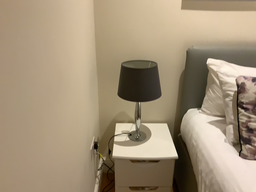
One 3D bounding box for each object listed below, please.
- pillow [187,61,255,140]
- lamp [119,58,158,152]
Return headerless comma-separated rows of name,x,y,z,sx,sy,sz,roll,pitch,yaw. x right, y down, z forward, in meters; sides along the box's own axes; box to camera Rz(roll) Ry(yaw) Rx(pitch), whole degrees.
pillow,0.790,0.000,1.270,0.720,0.300,0.500,1,22,0
lamp,0.050,0.050,1.450,0.220,0.540,0.360,0,22,-2
